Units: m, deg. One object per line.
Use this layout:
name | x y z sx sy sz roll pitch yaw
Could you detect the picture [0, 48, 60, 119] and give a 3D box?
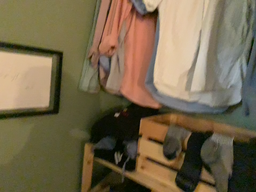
picture | -0.460 -0.050 0.880 0.050 0.270 0.350 11 9 37
